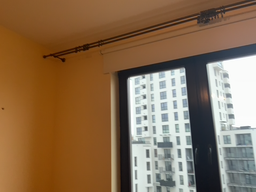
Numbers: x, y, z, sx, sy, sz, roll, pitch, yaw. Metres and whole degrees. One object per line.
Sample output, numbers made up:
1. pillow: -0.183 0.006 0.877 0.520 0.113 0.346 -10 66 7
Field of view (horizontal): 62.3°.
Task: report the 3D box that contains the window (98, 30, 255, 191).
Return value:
1. window: 0.510 0.330 1.580 1.610 1.450 0.190 -7 -14 26
